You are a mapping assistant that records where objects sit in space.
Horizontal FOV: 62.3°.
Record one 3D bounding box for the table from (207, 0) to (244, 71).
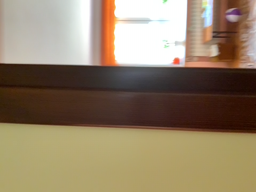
[{"bbox_3d":[1.840,-1.150,4.050,0.440,0.500,1.300,1,-89,-85],"label":"table"}]
